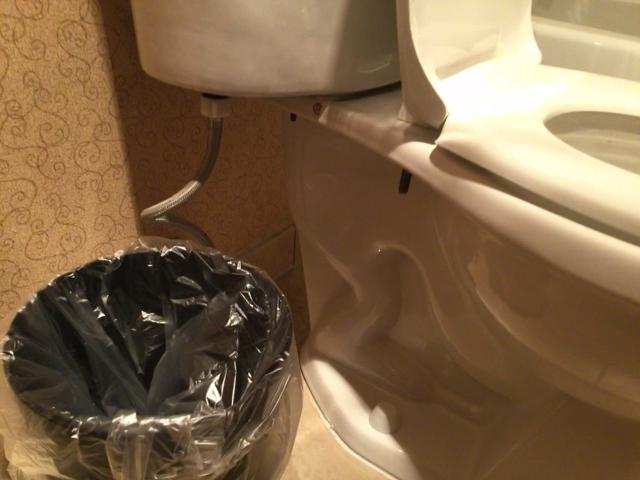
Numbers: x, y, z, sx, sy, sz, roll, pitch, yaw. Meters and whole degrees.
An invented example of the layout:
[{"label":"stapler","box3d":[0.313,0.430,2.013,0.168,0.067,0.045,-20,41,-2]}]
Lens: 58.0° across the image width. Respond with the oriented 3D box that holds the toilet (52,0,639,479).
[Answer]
[{"label":"toilet","box3d":[0.200,-0.120,0.520,0.680,0.770,0.490,23,36,26]}]
